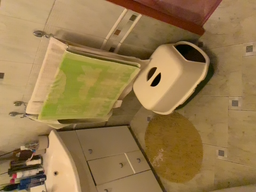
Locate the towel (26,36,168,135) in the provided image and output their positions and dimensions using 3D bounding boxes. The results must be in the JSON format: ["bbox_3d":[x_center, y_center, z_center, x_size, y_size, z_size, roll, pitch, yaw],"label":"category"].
[{"bbox_3d":[-0.200,-0.020,1.490,0.660,0.810,0.130,-57,50,32],"label":"towel"}]

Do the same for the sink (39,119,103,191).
[{"bbox_3d":[-0.430,0.640,1.570,0.480,0.160,0.810,-55,51,33],"label":"sink"}]
